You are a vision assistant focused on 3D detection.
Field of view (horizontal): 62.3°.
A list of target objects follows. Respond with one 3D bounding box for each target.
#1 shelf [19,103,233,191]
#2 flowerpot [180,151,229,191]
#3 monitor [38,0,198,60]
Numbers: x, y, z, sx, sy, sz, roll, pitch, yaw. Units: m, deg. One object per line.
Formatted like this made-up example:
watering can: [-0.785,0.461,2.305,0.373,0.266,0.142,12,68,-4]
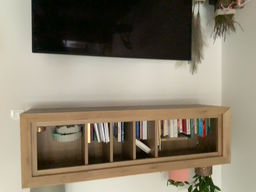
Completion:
shelf: [0.040,0.300,1.550,1.440,0.440,0.350,-1,-178,-16]
flowerpot: [0.630,0.660,1.760,0.340,0.330,0.180,-1,-178,-16]
monitor: [-0.010,-0.620,1.460,1.120,0.680,0.070,-1,-178,-19]
